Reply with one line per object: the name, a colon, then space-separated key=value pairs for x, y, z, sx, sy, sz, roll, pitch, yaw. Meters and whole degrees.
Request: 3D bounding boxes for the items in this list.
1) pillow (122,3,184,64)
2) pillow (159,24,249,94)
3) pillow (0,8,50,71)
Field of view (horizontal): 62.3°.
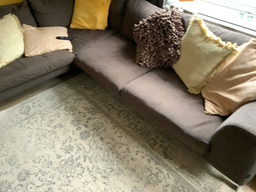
pillow: x=0.200 y=-0.510 z=1.850 sx=0.170 sy=0.420 sz=0.500 roll=-28 pitch=19 yaw=-23
pillow: x=0.520 y=-0.240 z=1.530 sx=0.170 sy=0.390 sz=0.540 roll=-29 pitch=18 yaw=-27
pillow: x=-1.170 y=-0.550 z=2.050 sx=0.600 sy=0.530 sz=0.180 roll=-28 pitch=-20 yaw=-29
